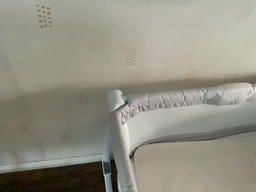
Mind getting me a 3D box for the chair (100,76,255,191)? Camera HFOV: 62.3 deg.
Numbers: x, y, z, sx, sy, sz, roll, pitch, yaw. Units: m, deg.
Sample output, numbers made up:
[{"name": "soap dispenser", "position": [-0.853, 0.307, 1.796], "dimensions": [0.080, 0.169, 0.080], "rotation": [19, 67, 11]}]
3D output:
[{"name": "chair", "position": [0.450, 0.400, 0.940], "dimensions": [1.050, 0.700, 0.670], "rotation": [-3, 51, -13]}]
